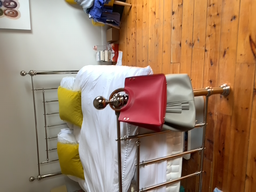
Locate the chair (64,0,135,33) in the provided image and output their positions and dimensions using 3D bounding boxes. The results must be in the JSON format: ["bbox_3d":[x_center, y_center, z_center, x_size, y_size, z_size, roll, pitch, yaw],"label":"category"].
[{"bbox_3d":[-0.420,-1.290,2.780,0.520,0.690,0.700,-58,44,51],"label":"chair"}]

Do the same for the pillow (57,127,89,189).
[{"bbox_3d":[-0.740,0.780,2.790,0.590,0.260,0.570,15,108,62],"label":"pillow"}]

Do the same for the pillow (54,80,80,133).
[{"bbox_3d":[-0.800,0.100,2.740,0.680,0.180,0.560,16,109,62],"label":"pillow"}]
